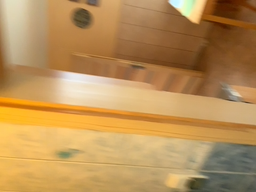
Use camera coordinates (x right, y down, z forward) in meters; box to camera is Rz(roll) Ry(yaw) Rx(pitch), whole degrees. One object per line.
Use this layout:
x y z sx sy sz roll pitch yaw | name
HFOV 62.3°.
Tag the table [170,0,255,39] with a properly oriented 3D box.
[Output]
1.090 -1.270 2.530 1.120 0.730 0.720 -98 18 -56 | table
